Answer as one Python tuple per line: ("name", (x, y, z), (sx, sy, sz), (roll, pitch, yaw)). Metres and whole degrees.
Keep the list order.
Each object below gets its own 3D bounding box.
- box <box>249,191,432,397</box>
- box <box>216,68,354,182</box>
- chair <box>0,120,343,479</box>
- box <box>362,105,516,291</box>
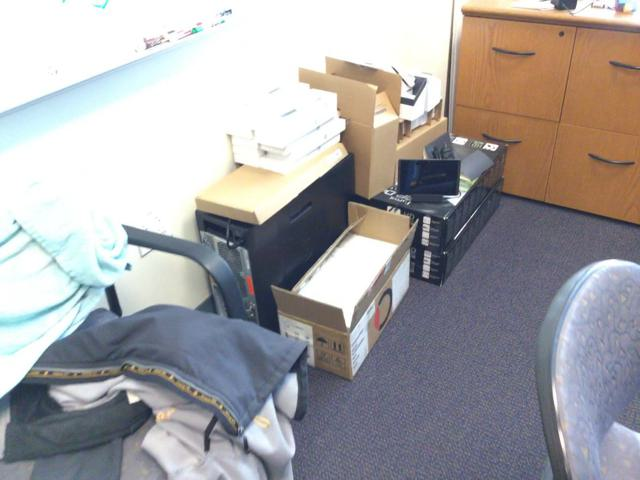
("box", (0.090, 0.130, 1.720), (0.290, 0.300, 0.530), (15, 39, 30))
("box", (-0.090, -0.350, 1.700), (0.220, 0.190, 0.350), (15, 39, 30))
("chair", (-0.380, 0.300, 0.990), (0.570, 0.780, 0.570), (15, 39, 30))
("box", (0.440, -0.180, 2.040), (0.270, 0.350, 0.660), (15, 39, 30))
